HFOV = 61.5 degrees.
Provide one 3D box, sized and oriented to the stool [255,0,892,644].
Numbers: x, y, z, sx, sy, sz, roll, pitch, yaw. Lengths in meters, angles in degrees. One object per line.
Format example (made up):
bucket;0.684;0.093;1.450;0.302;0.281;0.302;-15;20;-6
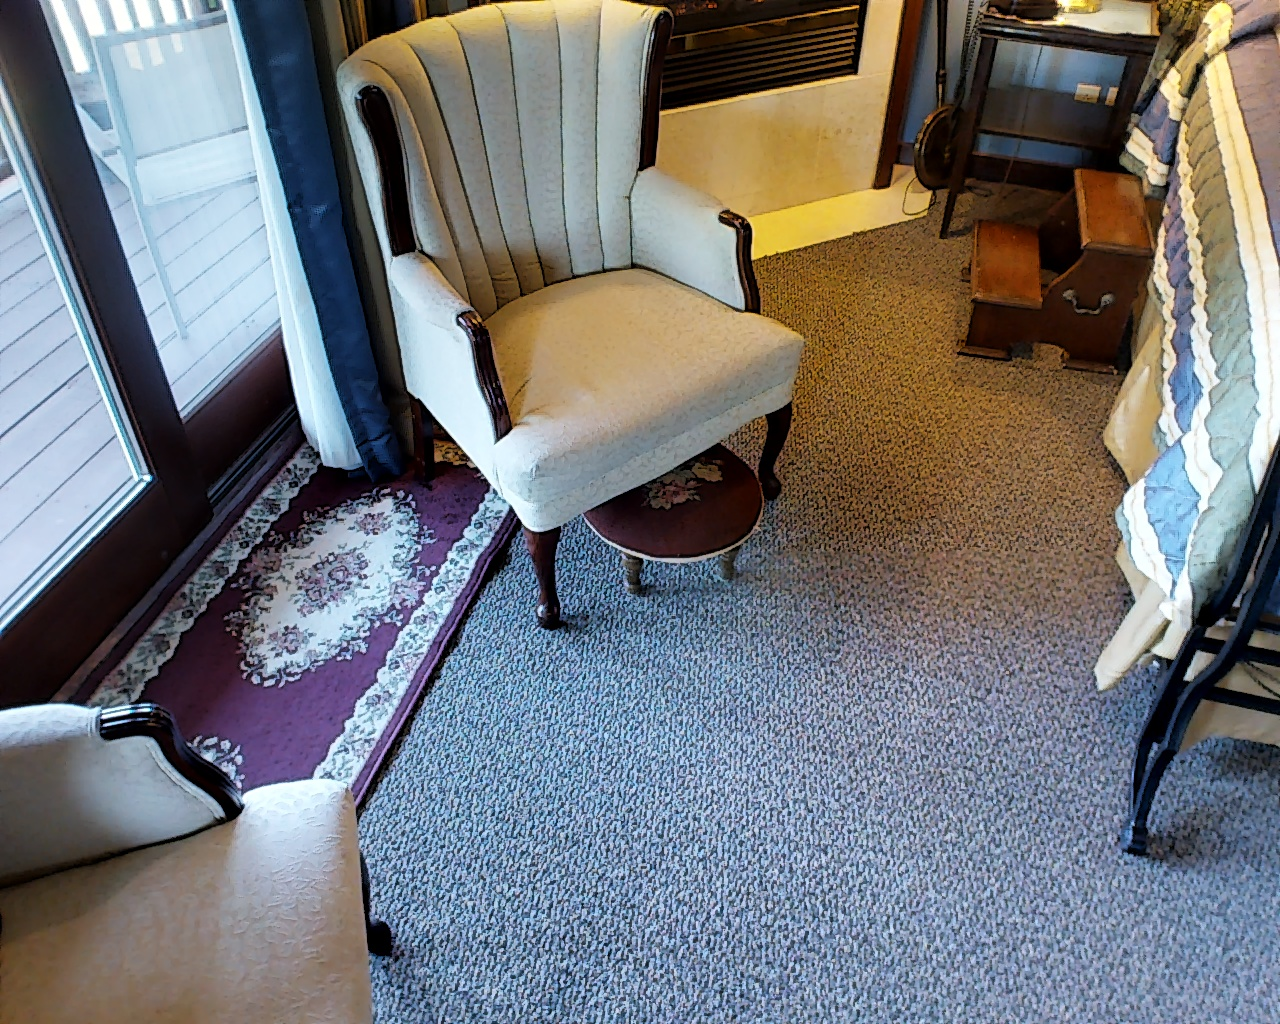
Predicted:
stool;-0.130;-0.450;2.120;0.770;0.900;0.780;-27;48;-27

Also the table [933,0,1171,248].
table;1.220;-1.220;3.230;0.500;0.610;0.490;13;43;14
